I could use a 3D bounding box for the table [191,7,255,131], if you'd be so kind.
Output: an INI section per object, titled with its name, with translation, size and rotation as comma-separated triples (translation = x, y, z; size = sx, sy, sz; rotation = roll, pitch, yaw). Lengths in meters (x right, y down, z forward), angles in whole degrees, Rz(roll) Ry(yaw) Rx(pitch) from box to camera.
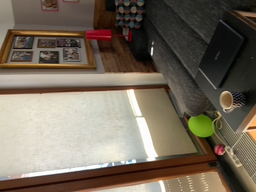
[table]
translation = 0.800, -0.170, 1.270
size = 0.510, 0.510, 0.490
rotation = -110, 24, -45
